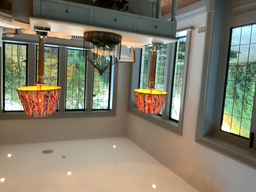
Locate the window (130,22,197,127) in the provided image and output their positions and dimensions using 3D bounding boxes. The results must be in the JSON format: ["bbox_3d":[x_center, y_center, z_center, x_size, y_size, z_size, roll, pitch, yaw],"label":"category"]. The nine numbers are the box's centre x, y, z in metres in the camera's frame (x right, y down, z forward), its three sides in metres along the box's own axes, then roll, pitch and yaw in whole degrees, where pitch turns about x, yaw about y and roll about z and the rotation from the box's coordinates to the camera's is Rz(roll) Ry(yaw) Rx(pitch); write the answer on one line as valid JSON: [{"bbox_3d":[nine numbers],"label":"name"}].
[{"bbox_3d":[0.640,-0.500,4.800,0.120,1.850,2.240,1,-173,-24],"label":"window"}]

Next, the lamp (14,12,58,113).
[{"bbox_3d":[-0.870,-0.290,2.000,0.340,0.840,0.320,1,-173,-25],"label":"lamp"}]

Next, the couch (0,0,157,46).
[{"bbox_3d":[-0.640,-1.230,2.710,1.810,0.870,0.900,1,-173,-24],"label":"couch"}]
